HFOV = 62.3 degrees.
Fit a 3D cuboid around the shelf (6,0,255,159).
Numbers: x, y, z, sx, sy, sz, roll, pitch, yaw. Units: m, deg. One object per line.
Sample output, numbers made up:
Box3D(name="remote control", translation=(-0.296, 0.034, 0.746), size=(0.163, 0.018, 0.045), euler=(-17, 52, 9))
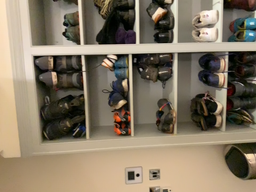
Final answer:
Box3D(name="shelf", translation=(0.400, -0.320, 1.500), size=(0.330, 2.190, 1.300), euler=(-129, 37, -80))
